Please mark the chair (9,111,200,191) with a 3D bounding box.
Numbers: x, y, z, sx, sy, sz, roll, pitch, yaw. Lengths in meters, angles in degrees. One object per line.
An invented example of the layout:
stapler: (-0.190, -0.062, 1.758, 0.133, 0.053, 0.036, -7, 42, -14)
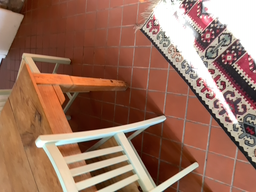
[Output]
chair: (-0.070, 0.410, 1.140, 0.450, 0.840, 0.400, -46, 64, 32)
